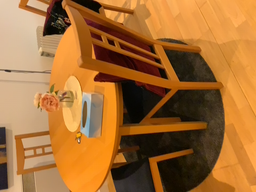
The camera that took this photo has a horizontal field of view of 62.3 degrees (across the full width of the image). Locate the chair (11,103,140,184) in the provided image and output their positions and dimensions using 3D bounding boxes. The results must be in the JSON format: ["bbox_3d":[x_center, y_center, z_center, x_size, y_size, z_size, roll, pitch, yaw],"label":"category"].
[{"bbox_3d":[-0.480,0.400,1.950,0.530,0.970,0.480,-41,57,46],"label":"chair"}]
